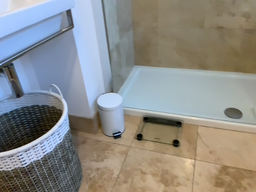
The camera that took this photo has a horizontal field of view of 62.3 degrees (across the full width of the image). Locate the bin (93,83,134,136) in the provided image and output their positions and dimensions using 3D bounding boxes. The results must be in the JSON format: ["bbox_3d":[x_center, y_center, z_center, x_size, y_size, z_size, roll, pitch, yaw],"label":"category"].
[{"bbox_3d":[-0.090,0.090,1.470,0.200,0.290,0.190,6,35,16],"label":"bin"}]
